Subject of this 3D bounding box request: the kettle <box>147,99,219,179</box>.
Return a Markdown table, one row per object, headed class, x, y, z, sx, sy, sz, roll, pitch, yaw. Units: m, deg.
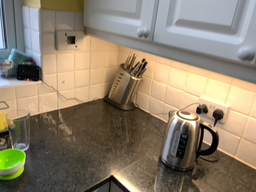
| class | x | y | z | sx | sy | sz | roll | pitch | yaw |
| --- | --- | --- | --- | --- | --- | --- | --- | --- | --- |
| kettle | 0.230 | 0.170 | 0.910 | 0.200 | 0.230 | 0.170 | 25 | 29 | 37 |
